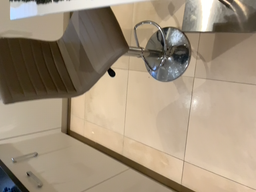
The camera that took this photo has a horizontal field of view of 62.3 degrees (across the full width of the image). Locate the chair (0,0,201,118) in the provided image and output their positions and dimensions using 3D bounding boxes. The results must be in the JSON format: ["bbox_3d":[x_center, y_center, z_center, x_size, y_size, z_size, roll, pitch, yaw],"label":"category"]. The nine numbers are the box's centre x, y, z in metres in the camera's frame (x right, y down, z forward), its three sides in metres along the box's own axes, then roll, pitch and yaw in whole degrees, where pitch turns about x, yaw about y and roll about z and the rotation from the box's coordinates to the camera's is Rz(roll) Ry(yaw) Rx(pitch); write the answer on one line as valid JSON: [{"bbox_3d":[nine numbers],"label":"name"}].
[{"bbox_3d":[-0.110,-0.230,1.180,0.490,1.060,0.370,-39,69,38],"label":"chair"}]
